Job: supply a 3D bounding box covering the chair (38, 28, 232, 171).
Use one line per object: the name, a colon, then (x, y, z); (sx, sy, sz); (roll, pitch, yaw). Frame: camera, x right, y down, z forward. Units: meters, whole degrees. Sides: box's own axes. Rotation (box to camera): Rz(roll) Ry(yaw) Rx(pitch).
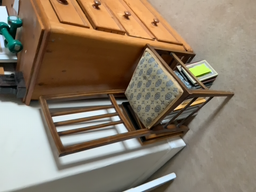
chair: (0.070, 0.020, 1.180); (0.490, 0.910, 0.360); (-56, 52, 34)
